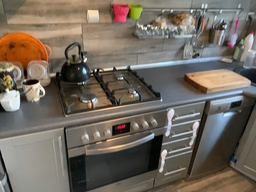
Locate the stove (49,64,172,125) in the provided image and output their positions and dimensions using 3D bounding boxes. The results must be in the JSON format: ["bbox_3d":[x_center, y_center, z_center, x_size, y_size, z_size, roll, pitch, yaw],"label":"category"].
[{"bbox_3d":[-0.150,-0.060,1.370,0.630,0.030,0.600,-9,31,-22],"label":"stove"}]

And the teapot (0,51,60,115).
[{"bbox_3d":[-0.580,-0.100,1.220,0.280,0.180,0.410,-10,32,-23],"label":"teapot"}]
